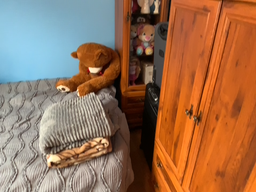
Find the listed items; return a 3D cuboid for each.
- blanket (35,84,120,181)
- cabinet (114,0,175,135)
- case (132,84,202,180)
[{"bbox_3d":[-0.370,0.200,1.490,0.460,0.300,0.600,-7,30,-18],"label":"blanket"},{"bbox_3d":[0.120,-0.550,2.090,0.440,1.950,0.420,-5,29,-13],"label":"cabinet"},{"bbox_3d":[0.300,0.300,1.920,0.380,0.640,0.530,-4,29,-12],"label":"case"}]
